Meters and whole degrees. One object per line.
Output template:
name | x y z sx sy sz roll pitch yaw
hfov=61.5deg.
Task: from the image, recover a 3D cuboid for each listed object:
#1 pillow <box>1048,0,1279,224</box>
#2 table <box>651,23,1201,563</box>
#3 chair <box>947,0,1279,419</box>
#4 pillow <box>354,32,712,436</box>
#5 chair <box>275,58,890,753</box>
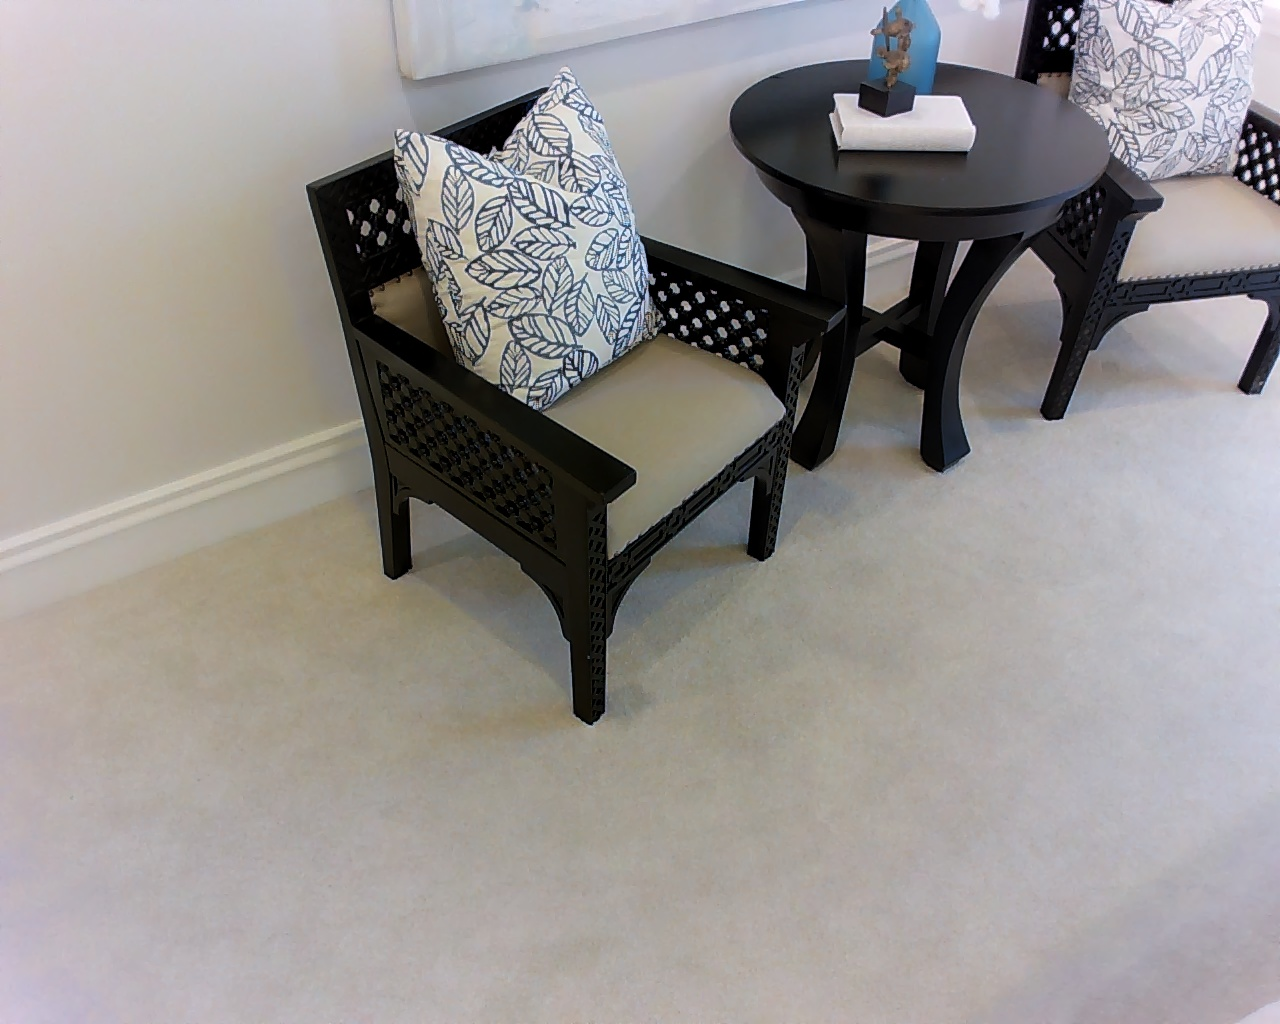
pillow | 1.310 -1.060 2.610 0.490 0.490 0.290 -21 49 -1
table | 0.570 -0.540 2.480 0.770 0.780 0.790 -23 47 -24
chair | 1.310 -0.840 2.670 0.670 0.890 0.730 -7 42 -8
pillow | -0.160 -0.500 1.940 0.320 0.480 0.450 24 60 30
chair | -0.090 -0.220 2.010 0.720 0.890 0.660 30 49 29
